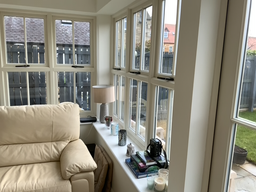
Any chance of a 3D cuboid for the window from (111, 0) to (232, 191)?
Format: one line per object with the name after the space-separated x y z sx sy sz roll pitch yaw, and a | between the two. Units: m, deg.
0.150 -0.190 2.210 0.160 1.770 2.120 -2 11 -18 | window
